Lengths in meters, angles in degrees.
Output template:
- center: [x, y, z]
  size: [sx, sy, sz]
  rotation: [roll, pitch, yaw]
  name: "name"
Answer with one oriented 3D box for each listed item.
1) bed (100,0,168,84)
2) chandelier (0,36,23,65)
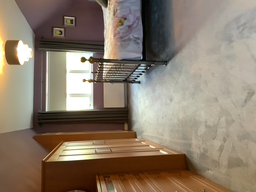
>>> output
- center: [-0.040, -1.460, 3.620]
  size: [1.690, 0.740, 2.250]
  rotation: [154, -65, -77]
  name: "bed"
- center: [-1.630, -0.600, 2.780]
  size: [0.240, 0.380, 0.270]
  rotation: [108, -21, -55]
  name: "chandelier"
